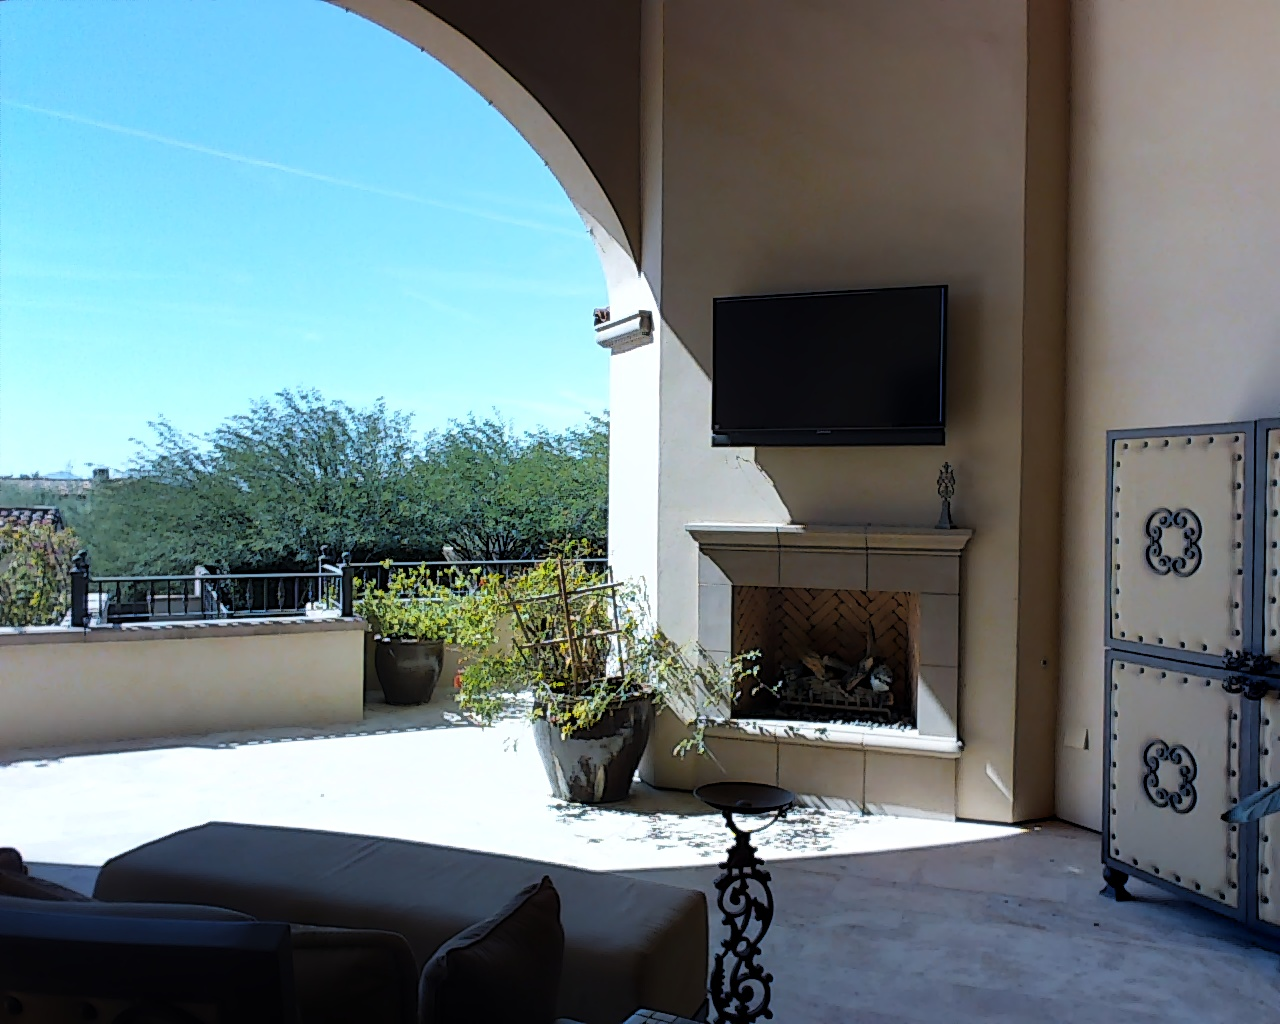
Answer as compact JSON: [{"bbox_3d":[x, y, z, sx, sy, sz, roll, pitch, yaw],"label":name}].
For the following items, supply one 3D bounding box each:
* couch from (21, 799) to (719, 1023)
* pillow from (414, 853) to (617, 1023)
[{"bbox_3d":[-0.750,1.250,3.030,1.850,0.550,0.610,1,1,15],"label":"couch"},{"bbox_3d":[-0.210,0.840,1.940,0.230,0.290,0.420,1,1,14],"label":"pillow"}]
